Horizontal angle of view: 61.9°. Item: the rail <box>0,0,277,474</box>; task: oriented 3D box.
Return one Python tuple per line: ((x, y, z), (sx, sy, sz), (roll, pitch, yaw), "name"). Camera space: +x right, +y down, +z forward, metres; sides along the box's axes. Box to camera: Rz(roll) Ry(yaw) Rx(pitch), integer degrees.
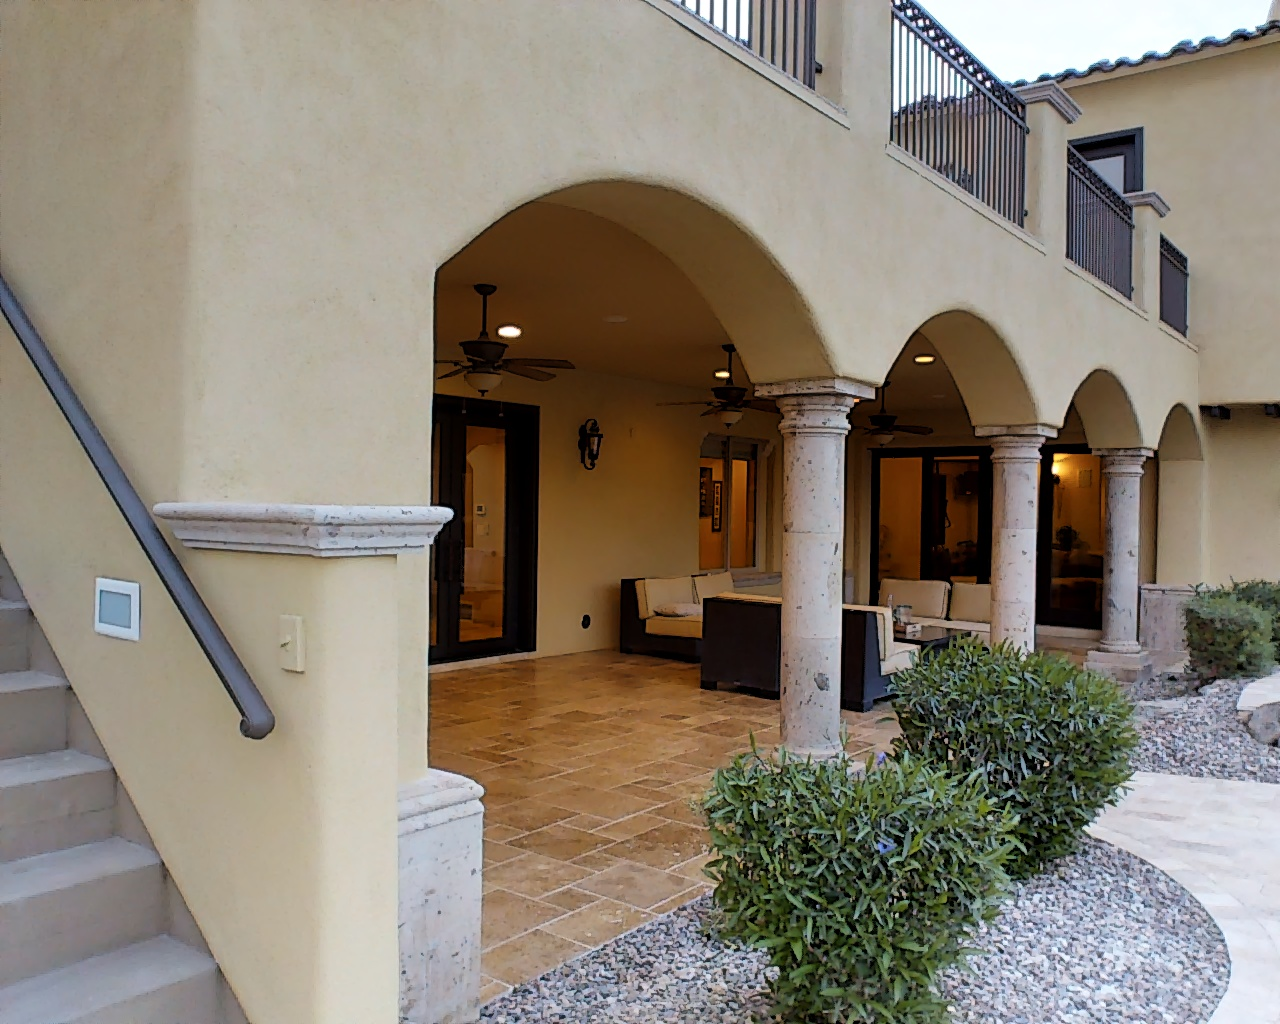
((-1.950, -0.480, 3.190), (3.760, 0.590, 0.080), (-42, -25, 29), "rail")
